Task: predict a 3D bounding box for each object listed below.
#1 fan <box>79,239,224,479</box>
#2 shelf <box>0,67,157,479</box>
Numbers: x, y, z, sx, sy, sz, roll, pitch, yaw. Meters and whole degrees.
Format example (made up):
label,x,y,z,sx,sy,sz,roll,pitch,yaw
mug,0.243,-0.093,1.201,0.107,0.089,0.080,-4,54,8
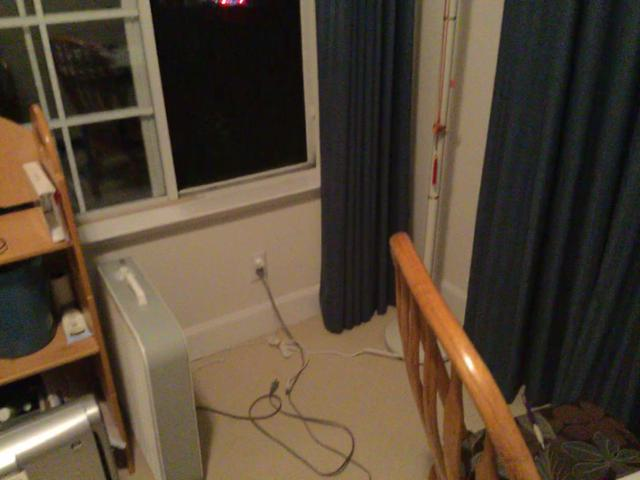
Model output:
label,x,y,z,sx,sy,sz,roll,pitch,yaw
fan,-0.500,0.360,1.690,0.160,0.540,0.560,-18,30,-27
shelf,-0.900,0.180,1.420,0.700,1.030,0.430,-18,30,-27
